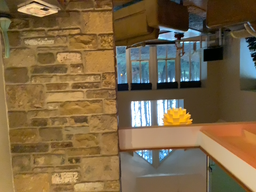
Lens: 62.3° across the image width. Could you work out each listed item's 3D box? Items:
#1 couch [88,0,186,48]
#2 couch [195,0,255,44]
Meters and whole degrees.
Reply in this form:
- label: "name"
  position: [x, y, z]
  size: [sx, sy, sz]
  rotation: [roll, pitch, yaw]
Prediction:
- label: "couch"
  position: [0.150, -1.510, 4.390]
  size: [1.680, 0.780, 1.150]
  rotation: [4, -172, 45]
- label: "couch"
  position: [2.260, -1.550, 4.120]
  size: [1.160, 0.790, 1.780]
  rotation: [3, -172, 43]
